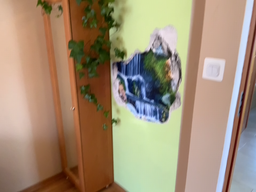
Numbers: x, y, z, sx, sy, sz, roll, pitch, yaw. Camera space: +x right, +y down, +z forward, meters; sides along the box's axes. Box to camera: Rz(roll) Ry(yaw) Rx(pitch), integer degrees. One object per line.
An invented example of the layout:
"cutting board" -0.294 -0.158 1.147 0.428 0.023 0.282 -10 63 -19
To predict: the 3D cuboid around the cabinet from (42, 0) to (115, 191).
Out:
"cabinet" -0.440 0.010 2.020 0.370 1.900 0.520 -15 24 -39
